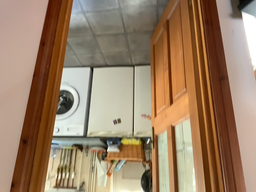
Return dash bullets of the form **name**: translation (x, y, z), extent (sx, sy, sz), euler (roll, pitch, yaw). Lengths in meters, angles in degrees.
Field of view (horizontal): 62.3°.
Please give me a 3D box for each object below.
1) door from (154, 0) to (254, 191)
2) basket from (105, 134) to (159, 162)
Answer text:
- **door**: translation (0.340, 0.190, 1.270), extent (0.100, 2.040, 0.910), euler (3, 160, -6)
- **basket**: translation (0.070, 0.640, 2.560), extent (0.580, 0.270, 0.550), euler (-2, 160, 7)
